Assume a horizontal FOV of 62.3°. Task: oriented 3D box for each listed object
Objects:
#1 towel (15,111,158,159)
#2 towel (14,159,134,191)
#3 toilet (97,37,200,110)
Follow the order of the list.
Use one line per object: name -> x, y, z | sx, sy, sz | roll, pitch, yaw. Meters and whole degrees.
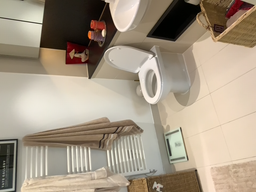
towel -> -0.350, 0.350, 2.070 | 0.220, 1.310, 0.350 | -43, 51, 55
towel -> -0.440, 0.770, 1.840 | 0.200, 0.970, 0.310 | -42, 51, 55
toilet -> 0.190, -0.180, 2.120 | 0.410, 0.860, 0.520 | -44, 50, 55
